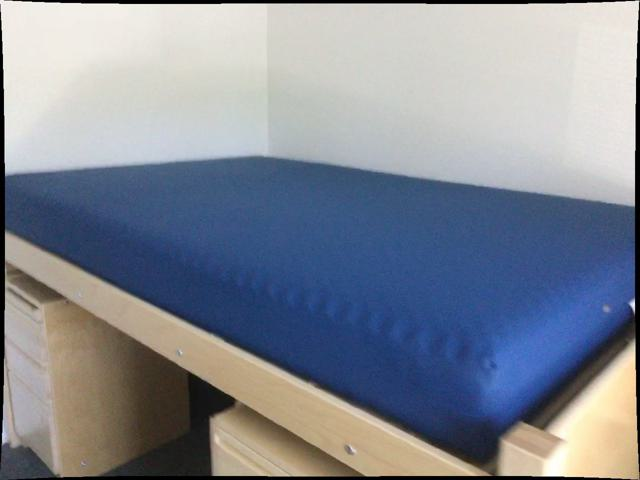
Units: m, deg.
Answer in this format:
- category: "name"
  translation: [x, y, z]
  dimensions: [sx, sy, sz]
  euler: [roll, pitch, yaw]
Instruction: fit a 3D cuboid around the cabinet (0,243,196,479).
- category: "cabinet"
  translation: [-0.909, 0.481, 2.320]
  dimensions: [0.510, 0.761, 0.590]
  euler: [14, 20, 41]
